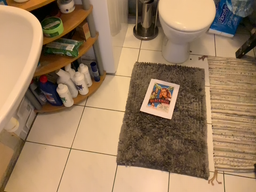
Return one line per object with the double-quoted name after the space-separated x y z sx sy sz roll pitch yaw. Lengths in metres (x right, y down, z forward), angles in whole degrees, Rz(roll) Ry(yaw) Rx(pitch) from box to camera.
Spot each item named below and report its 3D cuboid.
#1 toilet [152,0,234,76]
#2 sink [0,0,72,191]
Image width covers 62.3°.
0.400 -0.640 1.440 0.360 0.750 0.650 7 58 6 "toilet"
-0.470 -0.030 0.610 0.410 0.190 0.580 7 58 6 "sink"
